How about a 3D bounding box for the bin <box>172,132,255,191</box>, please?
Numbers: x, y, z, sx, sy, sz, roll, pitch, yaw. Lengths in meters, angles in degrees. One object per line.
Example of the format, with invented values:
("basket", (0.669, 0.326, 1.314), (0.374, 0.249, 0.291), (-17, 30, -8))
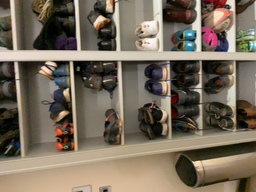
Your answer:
("bin", (0.760, 0.520, 1.770), (0.300, 0.700, 0.300), (-164, 72, -73))
